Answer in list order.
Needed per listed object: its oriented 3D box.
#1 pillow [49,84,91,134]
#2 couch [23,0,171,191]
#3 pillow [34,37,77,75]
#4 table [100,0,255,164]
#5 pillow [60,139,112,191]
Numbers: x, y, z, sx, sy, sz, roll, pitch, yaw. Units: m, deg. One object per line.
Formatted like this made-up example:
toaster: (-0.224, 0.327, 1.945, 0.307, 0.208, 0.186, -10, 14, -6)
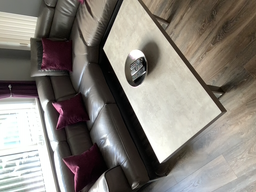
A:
pillow: (-0.740, 0.150, 2.630, 0.370, 0.320, 0.470, -58, 48, 39)
couch: (-0.700, 0.000, 2.820, 1.100, 0.810, 2.770, -57, 49, 40)
pillow: (-0.990, -0.540, 2.890, 0.280, 0.390, 0.360, 28, 100, 48)
table: (0.260, -0.220, 1.790, 0.670, 0.390, 1.310, -57, 49, 40)
pillow: (-0.470, 0.760, 2.320, 0.300, 0.390, 0.410, -57, 49, 40)
